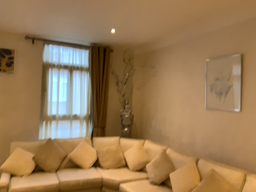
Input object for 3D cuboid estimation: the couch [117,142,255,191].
[{"bbox_3d":[0.740,1.120,2.220,0.940,0.810,1.920,2,0,-29],"label":"couch"}]
